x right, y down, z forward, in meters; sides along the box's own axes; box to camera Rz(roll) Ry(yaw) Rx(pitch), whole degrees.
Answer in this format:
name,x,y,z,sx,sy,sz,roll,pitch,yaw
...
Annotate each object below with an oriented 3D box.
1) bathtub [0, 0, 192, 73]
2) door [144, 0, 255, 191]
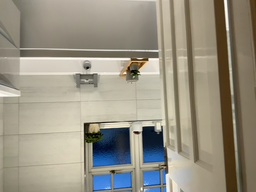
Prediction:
name,x,y,z,sx,sy,sz,roll,pitch,yaw
bathtub,-0.380,-0.550,1.910,1.670,0.560,0.690,-1,176,-10
door,0.270,0.110,1.080,0.110,2.130,1.010,-1,176,-8
